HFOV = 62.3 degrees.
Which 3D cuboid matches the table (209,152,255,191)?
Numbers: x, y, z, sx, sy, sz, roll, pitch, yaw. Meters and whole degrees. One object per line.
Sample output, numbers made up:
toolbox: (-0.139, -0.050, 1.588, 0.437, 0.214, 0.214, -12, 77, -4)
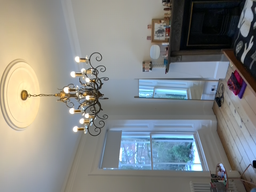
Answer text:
table: (1.660, 1.260, 3.370, 0.510, 0.490, 0.500, -85, -6, -54)
